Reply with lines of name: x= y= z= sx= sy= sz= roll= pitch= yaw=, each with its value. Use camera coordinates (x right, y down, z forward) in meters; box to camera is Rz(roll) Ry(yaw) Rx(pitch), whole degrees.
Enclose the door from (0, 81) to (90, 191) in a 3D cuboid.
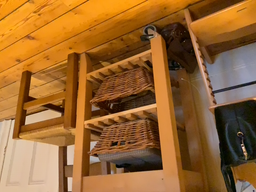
door: x=-0.800 y=1.050 z=1.710 sx=1.110 sy=2.260 sz=0.100 roll=-16 pitch=153 yaw=28
